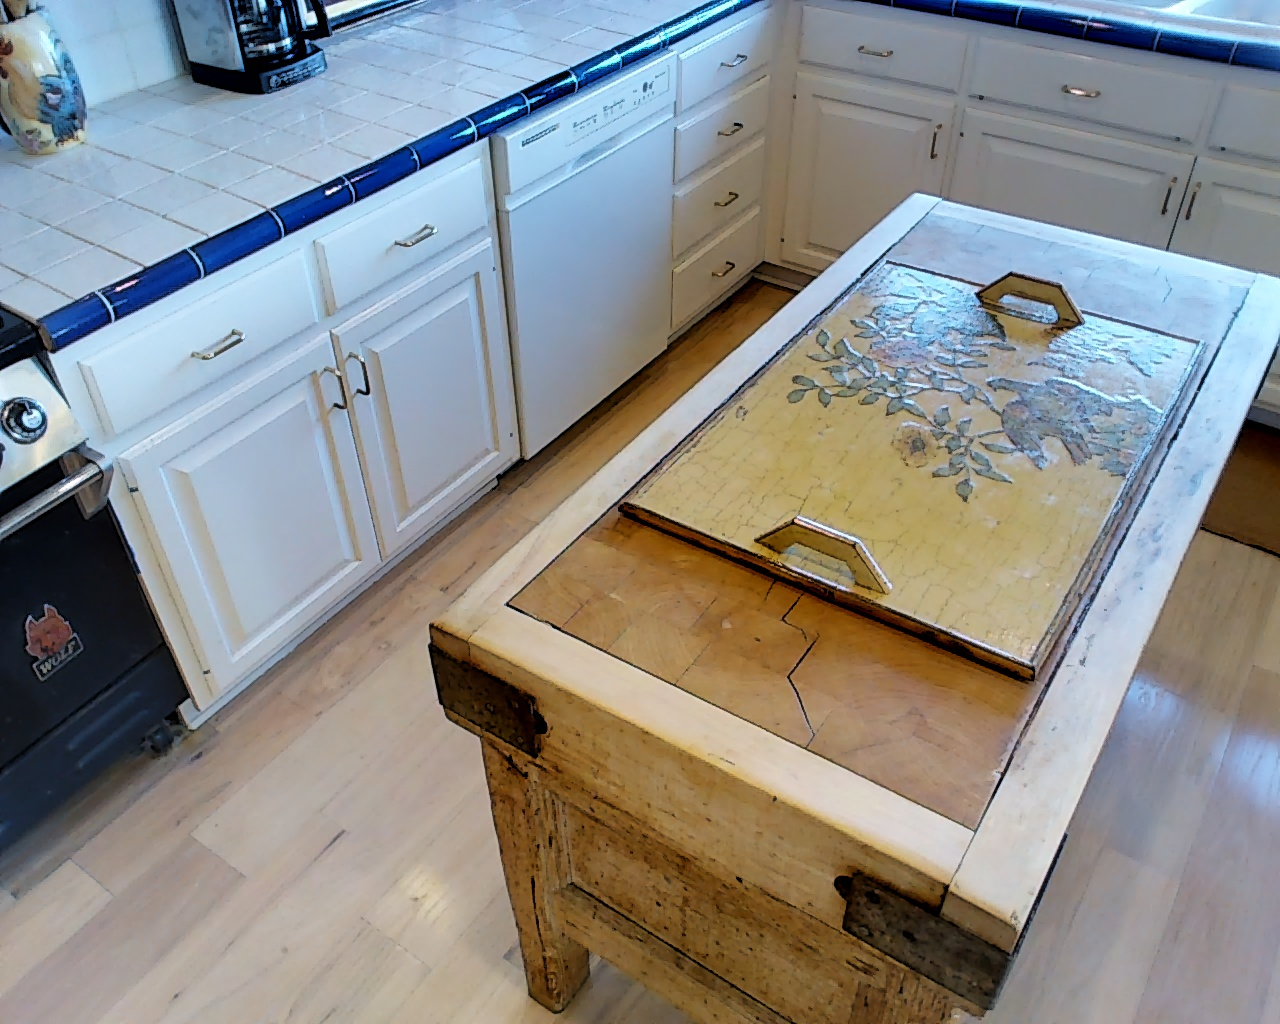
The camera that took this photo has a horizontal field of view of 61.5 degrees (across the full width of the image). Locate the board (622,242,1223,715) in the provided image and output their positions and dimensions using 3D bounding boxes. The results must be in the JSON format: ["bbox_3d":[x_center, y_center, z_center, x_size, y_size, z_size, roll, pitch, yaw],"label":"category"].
[{"bbox_3d":[0.380,-0.110,1.330,0.470,0.050,0.730,24,46,26],"label":"board"}]
